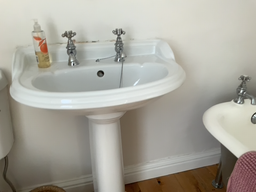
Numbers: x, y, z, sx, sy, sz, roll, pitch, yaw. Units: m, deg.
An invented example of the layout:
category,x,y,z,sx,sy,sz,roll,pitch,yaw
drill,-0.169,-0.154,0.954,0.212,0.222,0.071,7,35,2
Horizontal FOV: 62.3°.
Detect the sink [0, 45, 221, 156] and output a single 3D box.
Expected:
category,x,y,z,sx,sy,sz,roll,pitch,yaw
sink,-0.090,-0.050,0.820,0.640,0.160,0.490,-7,26,-14
